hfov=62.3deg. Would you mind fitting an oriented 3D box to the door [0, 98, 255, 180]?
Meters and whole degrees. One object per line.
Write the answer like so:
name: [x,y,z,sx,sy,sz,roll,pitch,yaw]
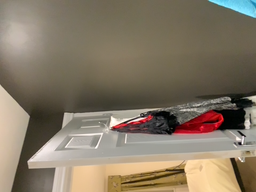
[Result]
door: [0.480,0.180,1.280,0.760,2.080,0.120,-83,-11,-78]
